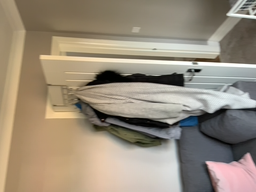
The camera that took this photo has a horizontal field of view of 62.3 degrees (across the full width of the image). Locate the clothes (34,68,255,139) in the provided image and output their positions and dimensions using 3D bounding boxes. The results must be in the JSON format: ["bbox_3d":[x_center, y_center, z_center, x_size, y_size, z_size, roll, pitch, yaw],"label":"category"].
[{"bbox_3d":[0.090,0.120,1.770,0.840,1.450,0.260,115,153,-64],"label":"clothes"}]

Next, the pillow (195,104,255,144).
[{"bbox_3d":[0.840,0.250,1.760,0.500,0.310,0.220,119,150,-67],"label":"pillow"}]

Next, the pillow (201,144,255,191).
[{"bbox_3d":[0.870,0.720,1.740,0.270,0.400,0.490,118,173,-64],"label":"pillow"}]
